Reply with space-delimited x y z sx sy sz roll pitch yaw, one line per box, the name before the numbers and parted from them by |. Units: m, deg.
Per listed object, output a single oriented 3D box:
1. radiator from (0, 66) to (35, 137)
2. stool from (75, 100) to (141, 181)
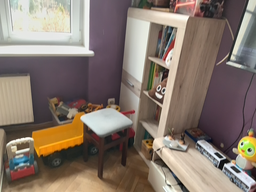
radiator | -1.340 0.080 2.000 0.790 0.670 0.170 -8 27 -29
stool | -0.190 0.360 1.870 0.390 0.470 0.390 -15 32 -40
